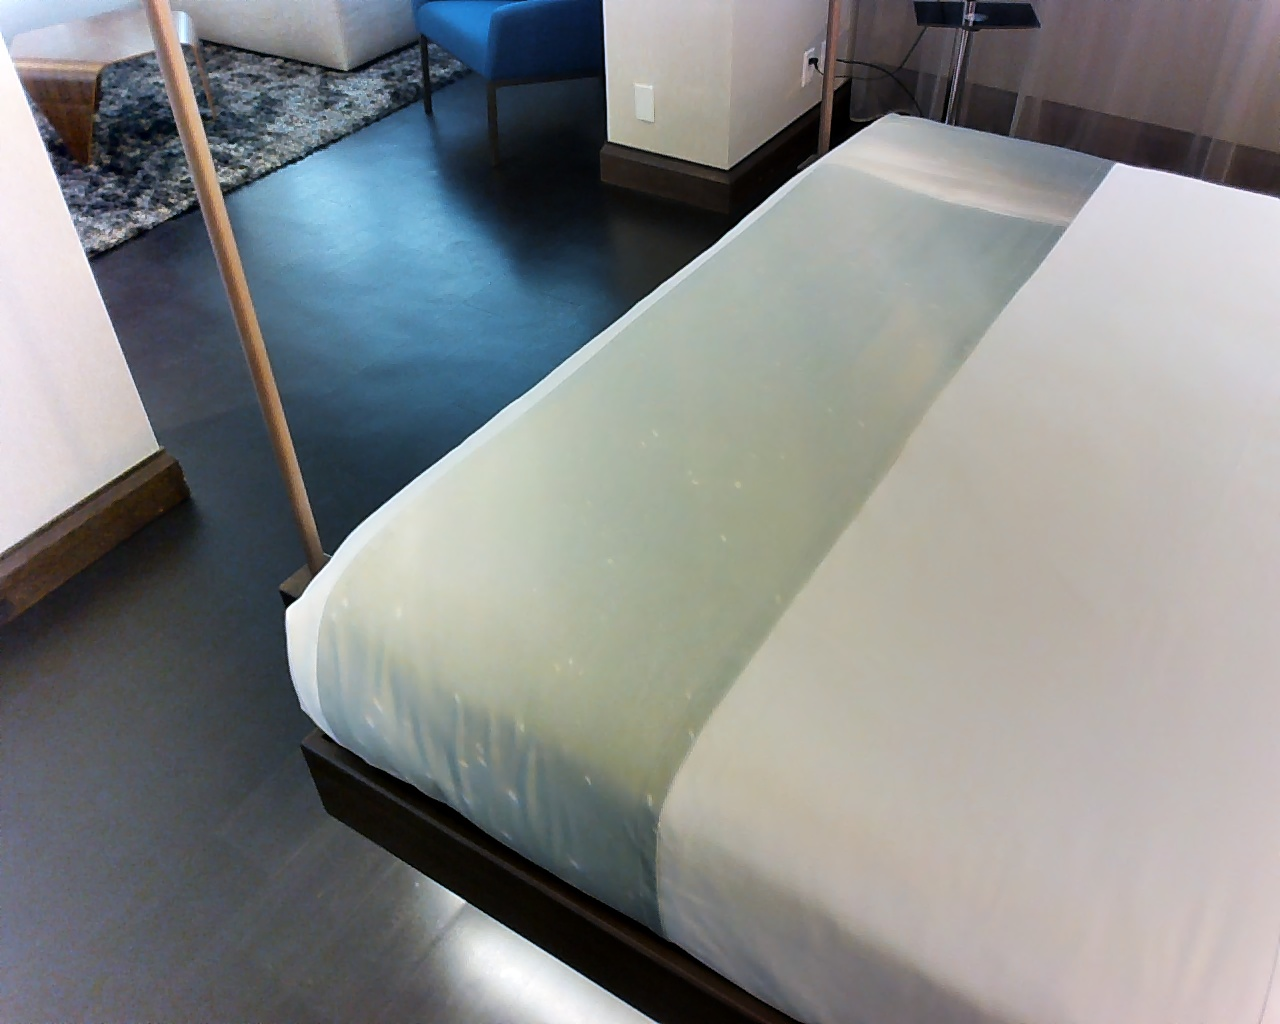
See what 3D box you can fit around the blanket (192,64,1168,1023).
[{"bbox_3d":[0.330,-0.070,1.960,0.580,0.740,2.140,21,45,24],"label":"blanket"}]
